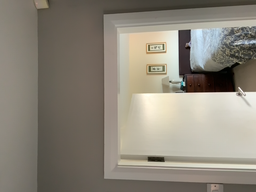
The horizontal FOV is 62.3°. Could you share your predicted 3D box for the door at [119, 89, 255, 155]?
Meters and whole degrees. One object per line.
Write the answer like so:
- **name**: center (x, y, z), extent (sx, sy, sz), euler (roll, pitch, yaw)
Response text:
- **door**: center (0.990, 0.150, 1.630), extent (0.800, 2.020, 0.060), euler (-76, -16, -61)
